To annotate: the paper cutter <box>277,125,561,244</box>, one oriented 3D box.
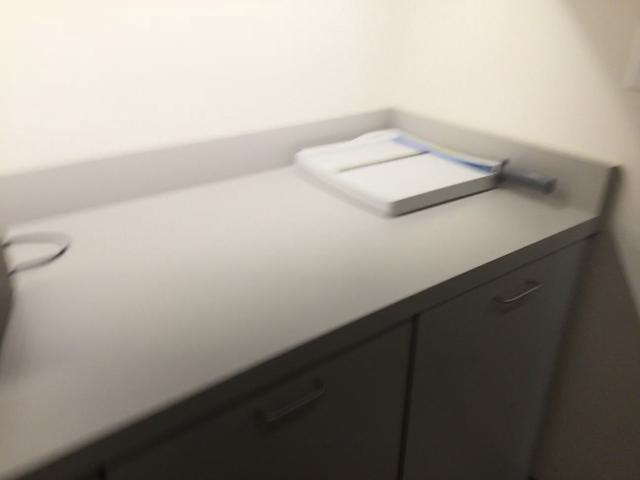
[{"bbox_3d":[0.200,-0.150,1.280,0.360,0.070,0.500,-20,30,-36],"label":"paper cutter"}]
